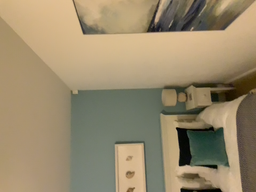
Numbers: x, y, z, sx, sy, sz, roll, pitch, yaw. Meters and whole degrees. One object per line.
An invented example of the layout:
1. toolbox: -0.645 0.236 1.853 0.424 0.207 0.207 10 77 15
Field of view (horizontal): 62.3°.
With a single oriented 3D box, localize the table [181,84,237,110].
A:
1. table: 1.160 0.020 3.090 0.340 0.650 0.290 108 161 -76
